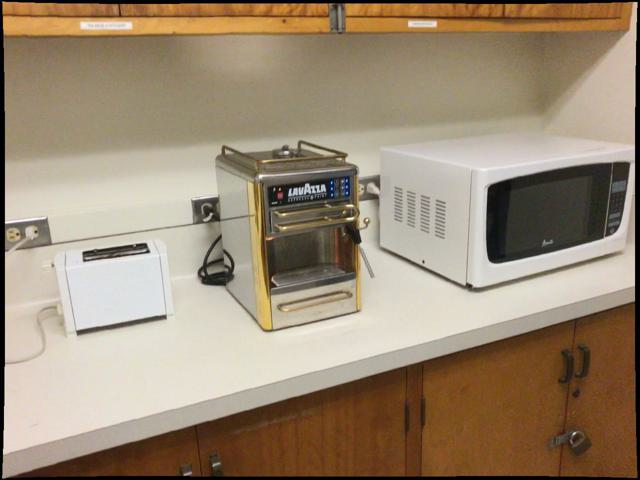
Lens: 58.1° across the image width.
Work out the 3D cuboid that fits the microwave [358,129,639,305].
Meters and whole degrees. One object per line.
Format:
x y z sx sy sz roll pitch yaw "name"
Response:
0.509 -0.110 1.660 0.629 0.311 0.490 -12 19 -22 "microwave"
